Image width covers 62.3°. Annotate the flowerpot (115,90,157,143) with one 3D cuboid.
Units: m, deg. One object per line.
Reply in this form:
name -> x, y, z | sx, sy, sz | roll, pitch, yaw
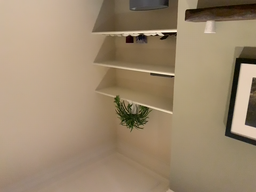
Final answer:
flowerpot -> 0.080, 0.200, 2.240 | 0.330, 0.420, 0.290 | -14, -158, -41
